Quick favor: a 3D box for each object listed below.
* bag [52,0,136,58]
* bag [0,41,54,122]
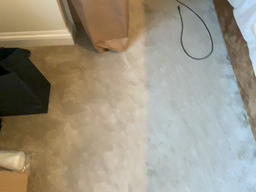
[{"bbox_3d":[-0.160,-0.550,1.110,0.340,0.450,0.490,-5,64,-3],"label":"bag"},{"bbox_3d":[-0.650,-0.040,0.970,0.500,0.320,0.230,-4,64,-2],"label":"bag"}]
